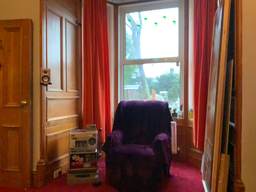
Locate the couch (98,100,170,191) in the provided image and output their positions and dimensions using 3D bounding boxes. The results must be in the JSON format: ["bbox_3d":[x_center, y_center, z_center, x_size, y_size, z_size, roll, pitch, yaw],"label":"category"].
[{"bbox_3d":[0.140,0.580,2.910,0.830,1.010,0.930,0,1,12],"label":"couch"}]
